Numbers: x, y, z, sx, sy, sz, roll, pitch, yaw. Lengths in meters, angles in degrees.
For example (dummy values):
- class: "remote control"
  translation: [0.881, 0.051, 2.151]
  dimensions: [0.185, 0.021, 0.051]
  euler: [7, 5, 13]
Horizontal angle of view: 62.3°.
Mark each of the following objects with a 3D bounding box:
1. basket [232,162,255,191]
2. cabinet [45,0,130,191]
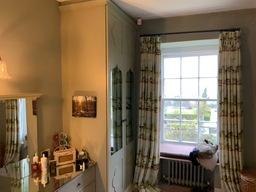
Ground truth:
- class: "basket"
  translation: [1.540, 1.170, 2.570]
  dimensions: [0.470, 0.560, 0.420]
  euler: [1, 3, 22]
- class: "cabinet"
  translation: [-0.480, 0.100, 3.030]
  dimensions: [0.680, 2.630, 1.120]
  euler: [0, 3, 19]
